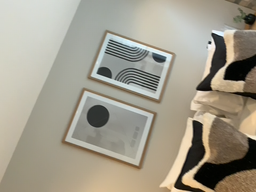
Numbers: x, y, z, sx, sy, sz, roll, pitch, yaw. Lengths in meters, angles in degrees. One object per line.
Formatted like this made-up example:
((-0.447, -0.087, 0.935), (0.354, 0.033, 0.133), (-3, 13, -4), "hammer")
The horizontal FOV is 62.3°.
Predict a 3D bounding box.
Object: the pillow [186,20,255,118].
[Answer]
((0.830, -0.210, 1.790), (0.250, 0.400, 0.680), (155, 137, -75), "pillow")

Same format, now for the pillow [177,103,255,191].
((0.580, 0.360, 1.220), (0.210, 0.450, 0.470), (-31, 37, 65), "pillow")

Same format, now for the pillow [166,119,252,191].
((0.560, 0.470, 1.460), (0.240, 0.430, 0.470), (-33, 35, 65), "pillow")

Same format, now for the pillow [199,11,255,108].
((0.820, -0.220, 1.450), (0.350, 0.420, 0.460), (-11, 54, 61), "pillow")
